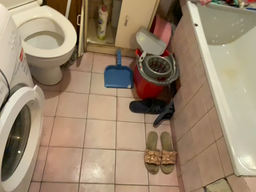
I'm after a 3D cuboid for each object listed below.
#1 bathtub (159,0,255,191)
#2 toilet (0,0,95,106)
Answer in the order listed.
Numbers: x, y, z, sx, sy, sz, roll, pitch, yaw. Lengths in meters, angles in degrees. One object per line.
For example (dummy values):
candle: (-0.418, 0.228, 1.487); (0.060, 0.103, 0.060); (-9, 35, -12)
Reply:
bathtub: (0.680, -0.010, 1.370); (0.680, 0.560, 1.650); (6, 56, -9)
toilet: (-0.570, -0.480, 1.250); (0.380, 0.820, 0.670); (-36, 70, -30)
